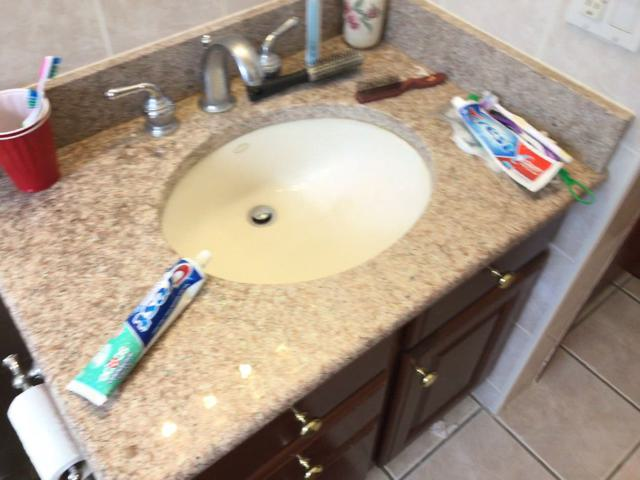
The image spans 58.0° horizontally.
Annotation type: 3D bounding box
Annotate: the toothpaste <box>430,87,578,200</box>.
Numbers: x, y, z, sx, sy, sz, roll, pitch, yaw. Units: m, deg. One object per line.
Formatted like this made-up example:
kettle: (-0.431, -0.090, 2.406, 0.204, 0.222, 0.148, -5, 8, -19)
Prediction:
toothpaste: (0.270, -0.150, 0.870, 0.080, 0.050, 0.200, -31, 55, -25)
